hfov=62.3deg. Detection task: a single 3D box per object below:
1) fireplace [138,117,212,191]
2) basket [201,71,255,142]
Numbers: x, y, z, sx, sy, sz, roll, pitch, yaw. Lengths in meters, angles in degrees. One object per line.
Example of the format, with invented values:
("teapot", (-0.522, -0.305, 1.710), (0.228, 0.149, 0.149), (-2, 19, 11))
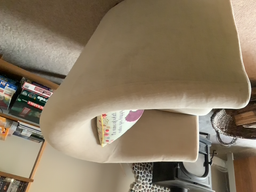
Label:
("fireplace", (0.480, 0.630, 2.220), (0.480, 0.560, 0.520), (25, 145, -24))
("basket", (1.000, 0.130, 1.700), (0.620, 0.190, 0.740), (6, 148, 6))
